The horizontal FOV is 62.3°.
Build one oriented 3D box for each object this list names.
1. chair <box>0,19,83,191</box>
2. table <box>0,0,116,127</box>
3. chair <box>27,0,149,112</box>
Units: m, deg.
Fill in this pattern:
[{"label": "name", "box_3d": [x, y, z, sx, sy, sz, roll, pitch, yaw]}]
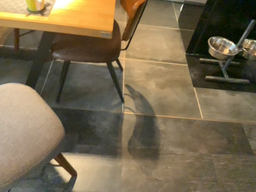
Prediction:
[{"label": "chair", "box_3d": [-0.580, 0.220, 0.880, 0.570, 0.760, 0.490, -32, 61, -31]}, {"label": "table", "box_3d": [-1.060, -0.440, 1.370, 1.900, 0.760, 0.820, 6, 49, -5]}, {"label": "chair", "box_3d": [-0.230, -0.360, 1.420, 0.550, 0.800, 0.520, 4, 49, -6]}]
